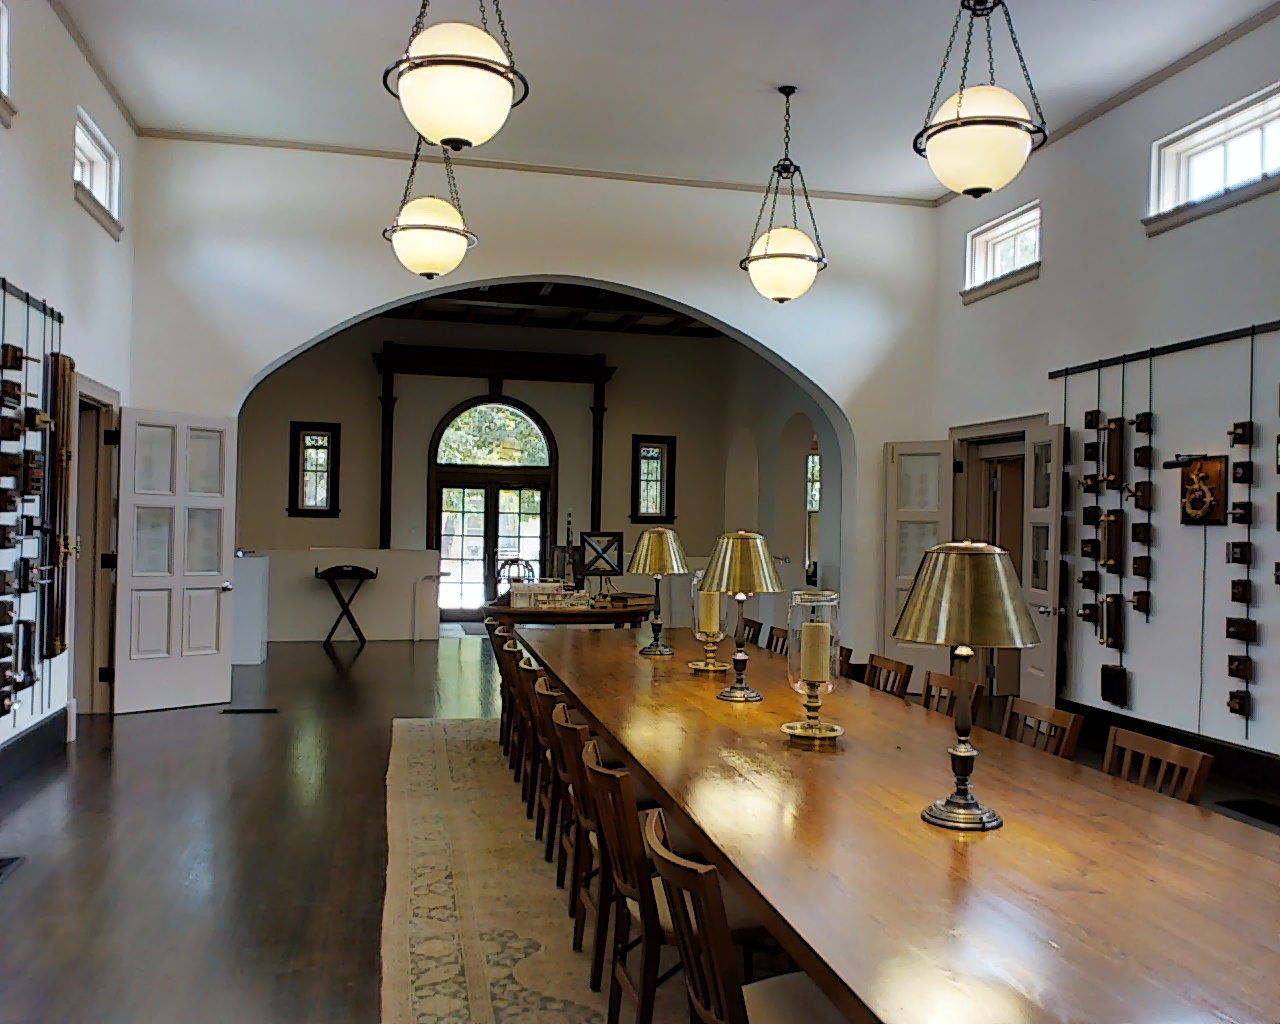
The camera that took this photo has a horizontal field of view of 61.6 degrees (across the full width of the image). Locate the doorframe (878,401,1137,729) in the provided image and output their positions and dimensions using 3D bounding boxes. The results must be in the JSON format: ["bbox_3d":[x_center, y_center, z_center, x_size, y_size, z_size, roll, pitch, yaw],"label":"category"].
[{"bbox_3d":[2.950,0.390,8.970,0.950,2.370,2.290,1,0,-13],"label":"doorframe"}]

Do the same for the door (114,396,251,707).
[{"bbox_3d":[-3.530,0.300,8.330,0.140,2.300,0.960,1,0,43],"label":"door"}]

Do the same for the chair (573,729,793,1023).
[{"bbox_3d":[0.100,1.090,3.000,0.480,0.850,0.520,1,0,-13],"label":"chair"}]
